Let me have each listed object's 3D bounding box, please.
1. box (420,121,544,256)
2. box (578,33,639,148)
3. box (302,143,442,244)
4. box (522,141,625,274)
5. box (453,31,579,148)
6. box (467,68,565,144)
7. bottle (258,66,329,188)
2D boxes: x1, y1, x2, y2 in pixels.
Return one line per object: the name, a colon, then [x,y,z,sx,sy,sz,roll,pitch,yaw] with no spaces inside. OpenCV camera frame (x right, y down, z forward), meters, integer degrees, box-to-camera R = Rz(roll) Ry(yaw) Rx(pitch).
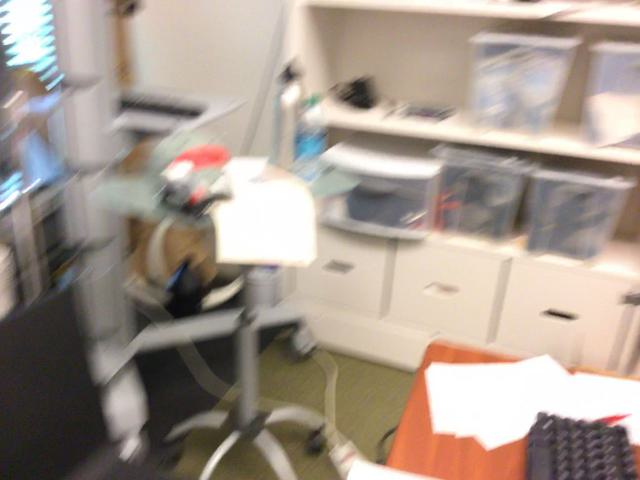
box: [0.550,-0.190,1.950,0.320,0.340,0.350,9,24,23]
box: [0.920,-0.440,1.660,0.280,0.280,0.340,9,24,23]
box: [0.190,-0.180,2.060,0.400,0.240,0.320,9,24,23]
box: [0.810,-0.120,1.850,0.240,0.310,0.350,9,24,23]
box: [0.610,-0.480,1.790,0.300,0.300,0.340,9,24,23]
box: [0.620,-0.430,1.810,0.230,0.170,0.360,9,24,23]
bottle: [-0.060,-0.280,1.420,0.130,0.270,0.110,9,24,23]
